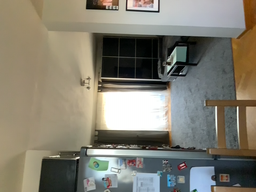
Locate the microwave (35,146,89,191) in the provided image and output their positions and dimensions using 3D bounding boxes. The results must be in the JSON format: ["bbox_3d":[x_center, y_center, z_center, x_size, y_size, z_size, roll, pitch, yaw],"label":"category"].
[{"bbox_3d":[-0.580,0.810,1.950,0.620,0.310,0.630,102,170,-81],"label":"microwave"}]
